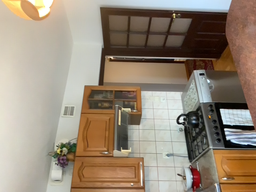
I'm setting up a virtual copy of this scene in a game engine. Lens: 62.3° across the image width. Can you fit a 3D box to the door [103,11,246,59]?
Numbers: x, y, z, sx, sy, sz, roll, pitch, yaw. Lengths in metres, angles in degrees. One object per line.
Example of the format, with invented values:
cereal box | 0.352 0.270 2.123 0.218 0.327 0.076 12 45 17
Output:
door | 0.630 -0.910 3.340 0.880 1.980 0.120 96 175 -65
